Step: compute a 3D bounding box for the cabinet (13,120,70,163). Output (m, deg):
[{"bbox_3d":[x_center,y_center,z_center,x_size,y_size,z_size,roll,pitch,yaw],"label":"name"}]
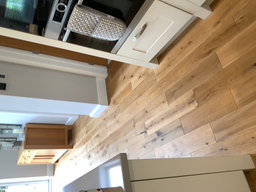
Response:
[{"bbox_3d":[-1.890,1.010,4.560,1.290,0.880,0.520,-42,50,47],"label":"cabinet"}]
